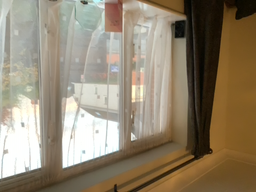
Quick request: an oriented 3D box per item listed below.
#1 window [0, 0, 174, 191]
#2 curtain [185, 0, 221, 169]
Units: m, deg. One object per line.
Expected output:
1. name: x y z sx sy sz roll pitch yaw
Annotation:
1. window: -0.150 -0.090 1.470 1.560 1.130 0.030 -5 -173 -44
2. curtain: 0.680 -0.100 1.930 0.310 1.440 0.140 -5 -173 -45
